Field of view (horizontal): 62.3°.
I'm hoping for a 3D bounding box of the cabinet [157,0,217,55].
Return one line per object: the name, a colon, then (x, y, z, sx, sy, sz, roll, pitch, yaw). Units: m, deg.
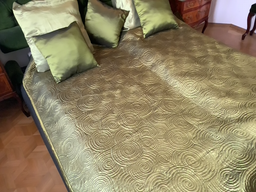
cabinet: (0.770, -1.020, 2.840, 0.620, 0.660, 0.390, -26, 48, -24)
